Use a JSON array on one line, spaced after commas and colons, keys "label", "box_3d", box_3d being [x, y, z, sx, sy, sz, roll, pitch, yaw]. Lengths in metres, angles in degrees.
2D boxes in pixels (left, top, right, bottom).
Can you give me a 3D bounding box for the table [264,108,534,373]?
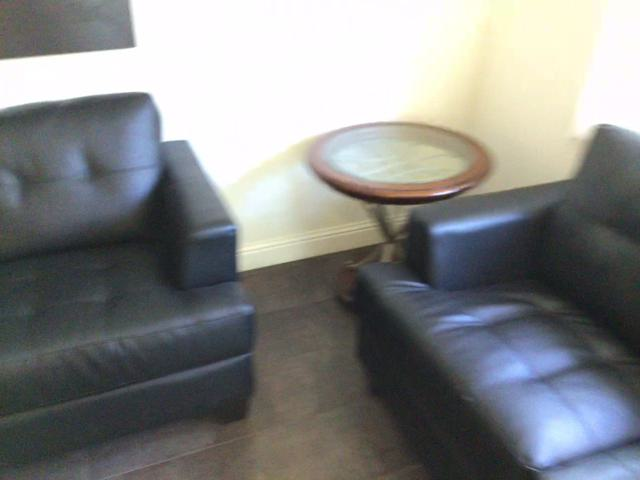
[{"label": "table", "box_3d": [0.240, -0.060, 2.330, 0.690, 0.720, 0.760, -8, 30, -23]}]
